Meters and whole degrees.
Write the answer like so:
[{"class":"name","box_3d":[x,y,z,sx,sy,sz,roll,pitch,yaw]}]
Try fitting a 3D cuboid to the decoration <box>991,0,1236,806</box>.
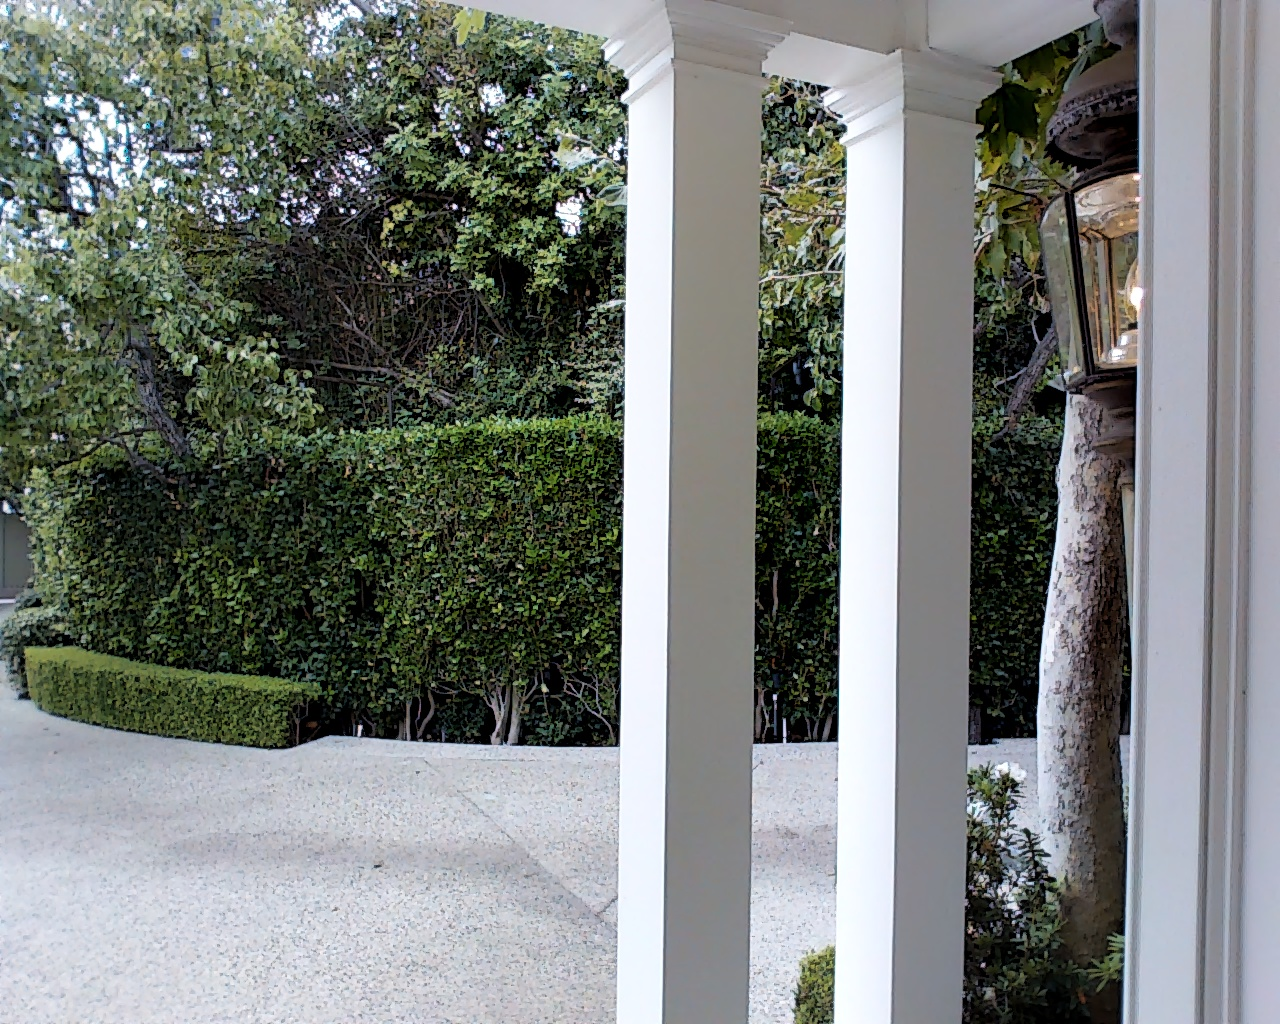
[{"class":"decoration","box_3d":[0.530,-0.190,1.240,0.150,0.980,0.270,0,1,-3]}]
